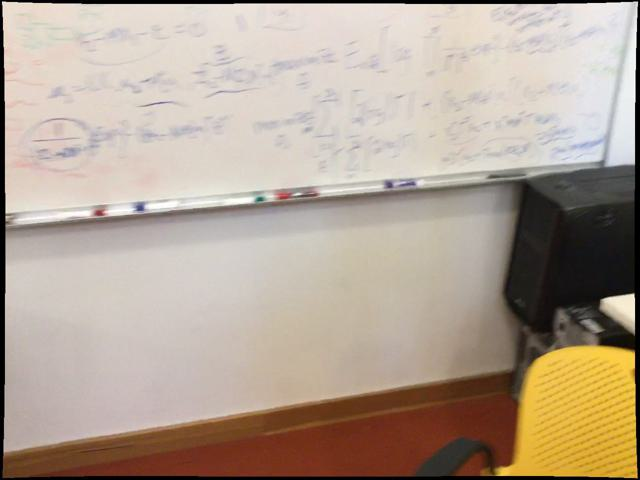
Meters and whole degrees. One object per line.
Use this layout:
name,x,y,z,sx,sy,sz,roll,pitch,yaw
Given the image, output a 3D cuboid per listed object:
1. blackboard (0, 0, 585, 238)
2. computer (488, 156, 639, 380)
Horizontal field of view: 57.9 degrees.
blackboard,-0.559,-0.661,1.470,2.837,1.301,0.100,-7,24,-14
computer,0.969,0.080,2.020,0.589,0.651,0.320,-6,24,-12
